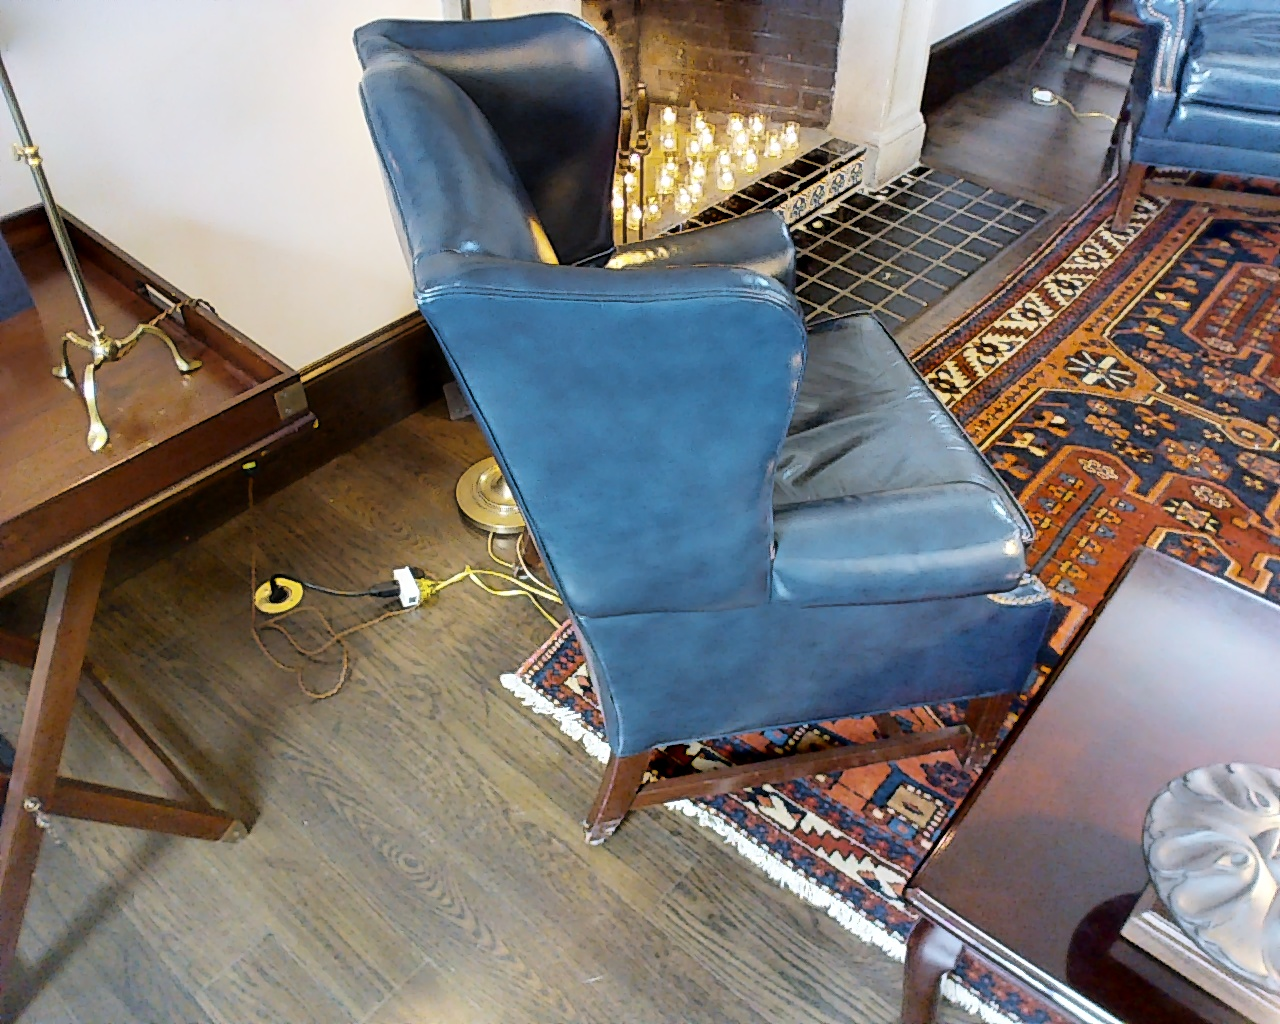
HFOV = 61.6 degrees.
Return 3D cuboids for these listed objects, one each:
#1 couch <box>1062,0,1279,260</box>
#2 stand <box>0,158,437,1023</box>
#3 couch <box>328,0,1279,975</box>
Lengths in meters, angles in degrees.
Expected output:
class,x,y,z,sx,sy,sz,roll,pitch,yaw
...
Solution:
class,x,y,z,sx,sy,sz,roll,pitch,yaw
couch,1.830,-1.420,2.990,0.950,1.090,0.900,10,43,10
stand,-0.940,0.190,1.420,0.730,0.820,0.990,32,51,30
couch,0.130,-0.130,1.590,0.920,1.080,0.950,-10,43,-11
